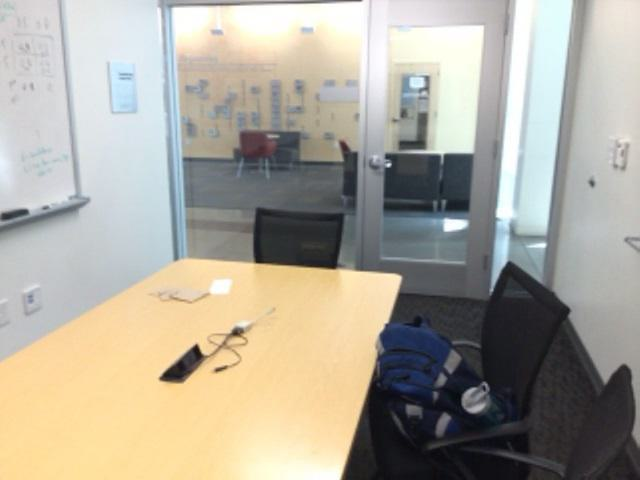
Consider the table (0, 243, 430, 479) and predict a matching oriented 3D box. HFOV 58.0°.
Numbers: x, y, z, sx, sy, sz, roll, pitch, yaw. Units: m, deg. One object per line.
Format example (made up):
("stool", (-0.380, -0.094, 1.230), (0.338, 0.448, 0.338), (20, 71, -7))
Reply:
("table", (-0.320, 0.670, 1.730), (1.160, 0.740, 2.000), (4, 16, 12))
